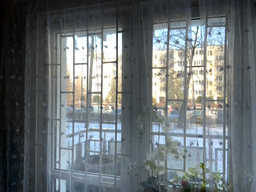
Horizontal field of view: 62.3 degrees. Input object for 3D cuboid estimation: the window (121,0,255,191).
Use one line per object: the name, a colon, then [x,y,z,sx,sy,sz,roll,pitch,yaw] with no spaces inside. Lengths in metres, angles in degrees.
window: [0.870,-0.020,1.330,1.850,2.010,0.220,1,0,18]
